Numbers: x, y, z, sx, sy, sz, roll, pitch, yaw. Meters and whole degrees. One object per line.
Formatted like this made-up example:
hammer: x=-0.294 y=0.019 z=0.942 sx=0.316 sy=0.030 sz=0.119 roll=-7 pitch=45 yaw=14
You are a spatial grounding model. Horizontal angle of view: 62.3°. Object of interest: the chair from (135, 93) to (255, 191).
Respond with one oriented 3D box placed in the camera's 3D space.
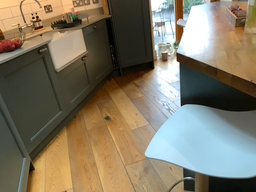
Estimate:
chair: x=0.340 y=0.410 z=0.930 sx=0.400 sy=0.700 sz=0.390 roll=10 pitch=33 yaw=31
